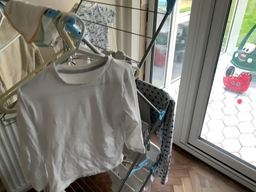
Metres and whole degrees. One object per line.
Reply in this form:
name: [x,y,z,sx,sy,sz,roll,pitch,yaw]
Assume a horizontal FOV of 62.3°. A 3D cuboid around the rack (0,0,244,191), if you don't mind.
rack: [-0.160,0.270,1.130,0.770,1.460,0.790,-25,40,-35]
